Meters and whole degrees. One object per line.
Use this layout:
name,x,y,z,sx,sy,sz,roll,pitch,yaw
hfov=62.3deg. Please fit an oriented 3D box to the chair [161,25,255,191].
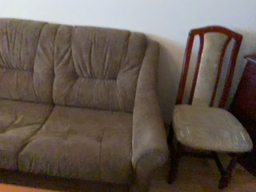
chair,0.570,0.090,1.500,0.480,0.950,0.660,7,32,1
